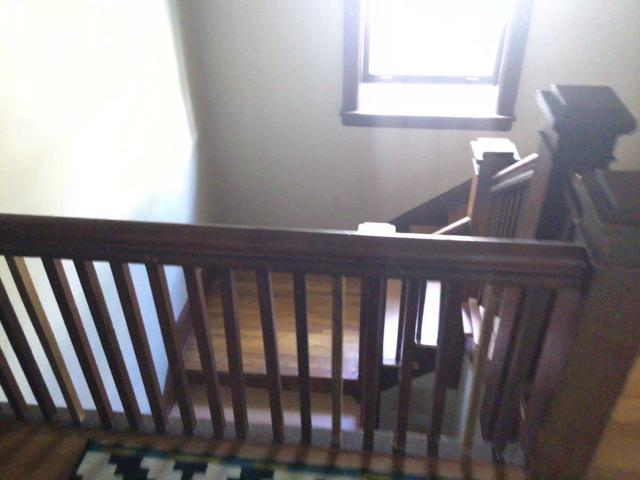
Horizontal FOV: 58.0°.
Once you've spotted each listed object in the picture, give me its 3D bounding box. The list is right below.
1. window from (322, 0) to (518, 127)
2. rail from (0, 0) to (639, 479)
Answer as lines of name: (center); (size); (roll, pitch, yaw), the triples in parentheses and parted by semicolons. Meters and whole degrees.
window: (0.560, -1.430, 3.320); (1.070, 1.470, 0.300); (-1, 30, 8)
rail: (0.450, 0.640, 2.510); (2.710, 2.810, 1.910); (-1, 30, 8)
